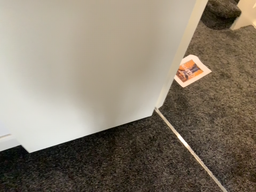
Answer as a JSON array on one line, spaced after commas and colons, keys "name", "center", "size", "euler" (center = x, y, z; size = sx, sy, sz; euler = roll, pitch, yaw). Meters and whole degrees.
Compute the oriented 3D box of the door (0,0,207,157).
[{"name": "door", "center": [-0.090, -0.320, 0.440], "size": [0.790, 2.020, 0.040], "euler": [-18, 62, -16]}]
